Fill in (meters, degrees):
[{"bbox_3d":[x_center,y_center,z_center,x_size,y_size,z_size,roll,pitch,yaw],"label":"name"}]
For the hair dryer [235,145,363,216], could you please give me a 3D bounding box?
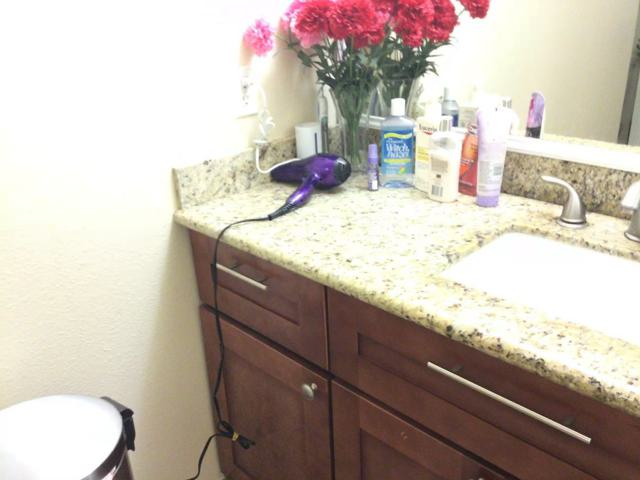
[{"bbox_3d":[-0.050,-0.150,1.390,0.220,0.090,0.210,-20,29,-40],"label":"hair dryer"}]
